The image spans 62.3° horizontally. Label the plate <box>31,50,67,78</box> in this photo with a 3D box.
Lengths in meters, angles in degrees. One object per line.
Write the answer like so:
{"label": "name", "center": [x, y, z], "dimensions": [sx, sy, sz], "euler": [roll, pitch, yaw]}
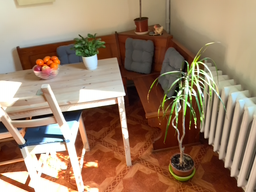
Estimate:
{"label": "plate", "center": [-0.680, -0.280, 1.850], "dimensions": [0.220, 0.160, 0.190], "euler": [-5, 31, 0]}
